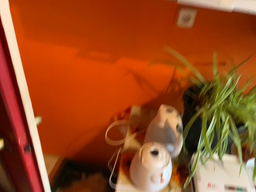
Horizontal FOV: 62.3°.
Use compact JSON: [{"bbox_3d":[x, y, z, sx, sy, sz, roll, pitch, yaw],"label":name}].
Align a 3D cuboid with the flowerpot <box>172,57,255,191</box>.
[{"bbox_3d":[0.440,0.110,0.960,0.390,0.320,0.490,12,38,6],"label":"flowerpot"}]
